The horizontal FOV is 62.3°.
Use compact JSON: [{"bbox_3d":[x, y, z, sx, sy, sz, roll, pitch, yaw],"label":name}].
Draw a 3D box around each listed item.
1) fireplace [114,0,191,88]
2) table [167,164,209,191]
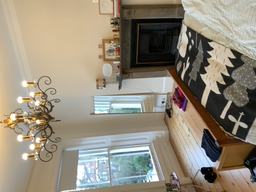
[{"bbox_3d":[0.380,-1.070,4.150,0.560,1.240,1.740,-104,14,-55],"label":"fireplace"},{"bbox_3d":[0.990,1.510,3.590,0.440,0.480,0.460,-104,14,-54],"label":"table"}]
